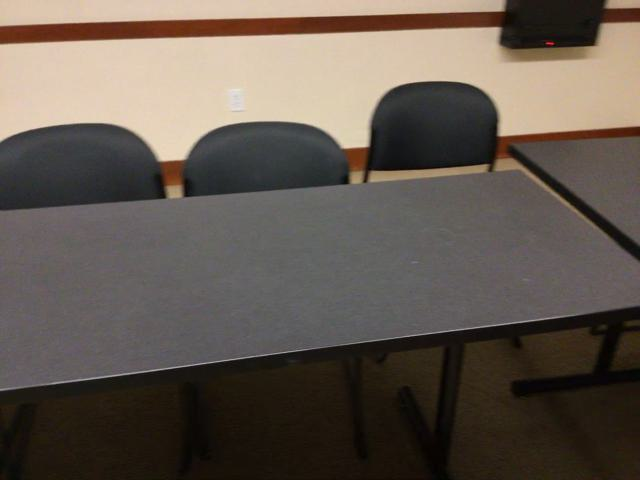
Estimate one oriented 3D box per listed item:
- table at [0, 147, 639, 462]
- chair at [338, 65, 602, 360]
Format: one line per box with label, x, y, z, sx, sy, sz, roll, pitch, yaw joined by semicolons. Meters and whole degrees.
table;-0.290;0.050;1.100;1.890;0.110;0.740;-7;27;-16
chair;0.420;-0.130;1.920;0.540;0.760;0.580;-7;27;-16
